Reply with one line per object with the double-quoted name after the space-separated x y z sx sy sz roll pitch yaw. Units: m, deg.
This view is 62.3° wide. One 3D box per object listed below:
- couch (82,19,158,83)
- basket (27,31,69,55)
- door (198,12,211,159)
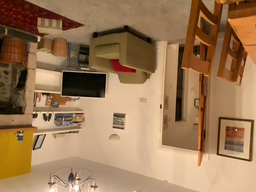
-0.110 -0.660 3.560 0.800 0.780 0.990 2 179 37 "couch"
-1.500 -0.970 3.980 0.560 0.260 0.510 2 178 35 "basket"
1.060 -0.120 2.920 0.080 1.780 0.740 2 179 22 "door"
